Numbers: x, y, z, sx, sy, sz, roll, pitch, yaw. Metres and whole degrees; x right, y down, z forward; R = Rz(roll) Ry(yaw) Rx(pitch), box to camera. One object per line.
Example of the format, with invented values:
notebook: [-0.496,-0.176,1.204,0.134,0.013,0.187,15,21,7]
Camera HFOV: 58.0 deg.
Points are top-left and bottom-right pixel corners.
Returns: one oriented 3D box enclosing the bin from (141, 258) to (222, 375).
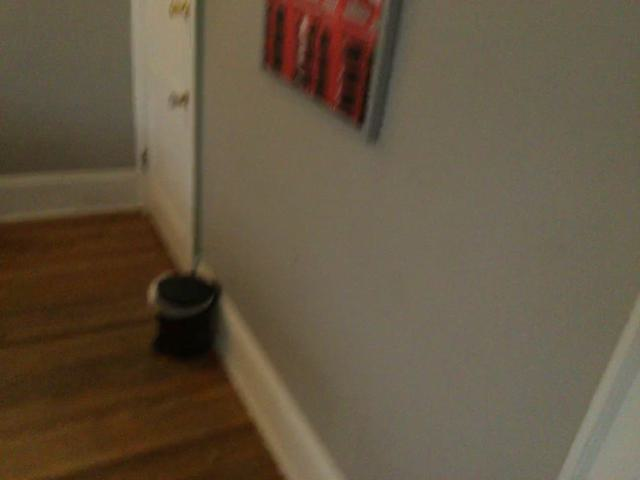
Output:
bin: [-0.550,0.290,2.260,0.230,0.330,0.270,-6,29,-28]
